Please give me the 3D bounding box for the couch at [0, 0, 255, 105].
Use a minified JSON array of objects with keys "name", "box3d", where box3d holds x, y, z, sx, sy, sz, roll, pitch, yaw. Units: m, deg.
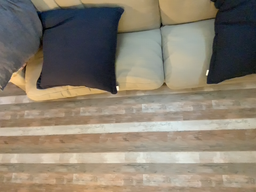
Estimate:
[{"name":"couch","box3d":[0.190,-0.550,1.350,2.500,0.770,1.050,-4,158,11]}]
